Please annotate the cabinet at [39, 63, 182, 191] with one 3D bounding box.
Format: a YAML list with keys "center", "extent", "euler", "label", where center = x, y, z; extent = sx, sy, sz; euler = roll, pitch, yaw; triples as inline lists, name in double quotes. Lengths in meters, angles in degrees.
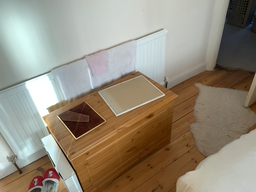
- center: [-0.090, 0.220, 1.570]
  extent: [0.840, 0.520, 0.450]
  euler: [-27, 45, -24]
  label: "cabinet"
